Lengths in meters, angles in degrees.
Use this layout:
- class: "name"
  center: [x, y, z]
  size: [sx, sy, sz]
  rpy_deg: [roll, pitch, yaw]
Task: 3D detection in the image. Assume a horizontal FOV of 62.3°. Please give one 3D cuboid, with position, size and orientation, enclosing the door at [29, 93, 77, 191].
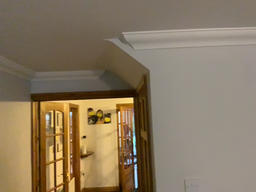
- class: "door"
  center: [-1.000, 1.070, 2.970]
  size: [0.160, 2.130, 0.990]
  rpy_deg: [-3, -5, 11]
